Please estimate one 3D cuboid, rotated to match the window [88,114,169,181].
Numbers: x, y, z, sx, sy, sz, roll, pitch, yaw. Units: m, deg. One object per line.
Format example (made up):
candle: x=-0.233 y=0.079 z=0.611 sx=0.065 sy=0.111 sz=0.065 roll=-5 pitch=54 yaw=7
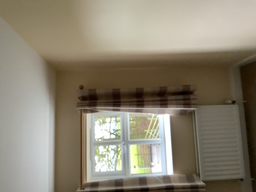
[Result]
window: x=0.000 y=0.650 z=2.740 sx=0.090 sy=1.010 sz=0.790 roll=127 pitch=141 yaw=-83
